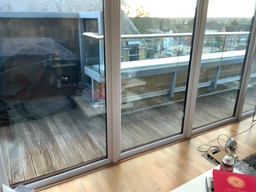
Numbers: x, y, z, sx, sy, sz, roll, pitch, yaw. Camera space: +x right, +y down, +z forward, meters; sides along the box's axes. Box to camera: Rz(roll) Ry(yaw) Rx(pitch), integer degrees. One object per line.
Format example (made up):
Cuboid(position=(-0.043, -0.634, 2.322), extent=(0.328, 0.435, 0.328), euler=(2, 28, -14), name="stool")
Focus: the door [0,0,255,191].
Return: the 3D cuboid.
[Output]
Cuboid(position=(0.260, -0.340, 2.070), extent=(4.810, 2.190, 0.070), euler=(-11, 23, -30), name="door")
